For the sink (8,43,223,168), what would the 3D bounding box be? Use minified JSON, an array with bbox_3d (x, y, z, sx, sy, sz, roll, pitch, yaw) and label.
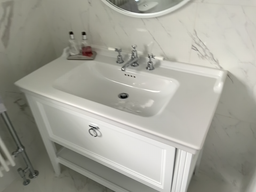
[{"bbox_3d":[-0.070,-0.050,1.150,1.000,0.140,0.530,16,40,24],"label":"sink"}]
